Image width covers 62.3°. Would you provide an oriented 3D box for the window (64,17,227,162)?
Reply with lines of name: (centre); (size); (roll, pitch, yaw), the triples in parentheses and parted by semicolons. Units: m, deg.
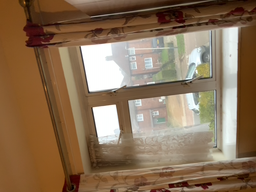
window: (0.160, -0.010, 1.490); (0.080, 1.030, 0.900); (-93, -4, -74)
